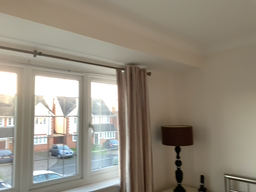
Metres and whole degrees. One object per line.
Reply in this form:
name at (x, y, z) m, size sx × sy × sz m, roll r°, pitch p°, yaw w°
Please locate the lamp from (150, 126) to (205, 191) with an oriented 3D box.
lamp at (0.560, 0.730, 2.440) m, size 0.400 × 0.730 × 0.430 m, roll 4°, pitch -7°, yaw -41°
